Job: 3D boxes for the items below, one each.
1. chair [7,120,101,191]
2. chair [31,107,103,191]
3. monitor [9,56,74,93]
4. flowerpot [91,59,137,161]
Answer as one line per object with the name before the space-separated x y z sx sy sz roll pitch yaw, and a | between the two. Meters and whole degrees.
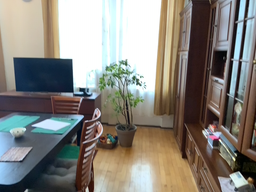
chair | -0.530 0.690 1.680 0.540 0.870 0.400 3 13 6
chair | -0.560 0.600 2.090 0.540 0.870 0.400 3 13 6
monitor | -1.390 -0.350 3.420 1.010 0.560 0.050 2 12 2
flowerpot | -0.190 0.150 3.320 0.480 1.380 0.870 4 13 10
